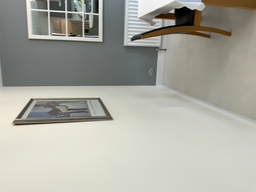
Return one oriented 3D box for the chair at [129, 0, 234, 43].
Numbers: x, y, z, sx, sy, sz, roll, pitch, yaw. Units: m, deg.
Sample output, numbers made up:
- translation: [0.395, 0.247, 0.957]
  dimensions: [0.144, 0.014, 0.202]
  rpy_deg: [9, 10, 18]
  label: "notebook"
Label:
- translation: [0.490, -0.820, 2.020]
  dimensions: [0.400, 0.870, 0.570]
  rpy_deg: [-143, 53, -70]
  label: "chair"
